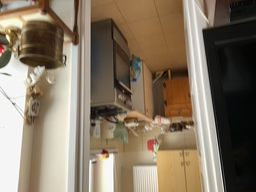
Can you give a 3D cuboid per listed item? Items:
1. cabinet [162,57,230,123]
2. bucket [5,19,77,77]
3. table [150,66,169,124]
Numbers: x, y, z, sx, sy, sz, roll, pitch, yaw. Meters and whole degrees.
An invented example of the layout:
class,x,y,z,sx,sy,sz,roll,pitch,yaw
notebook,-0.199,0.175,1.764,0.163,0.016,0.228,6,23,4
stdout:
class,x,y,z,sx,sy,sz,roll,pitch,yaw
cabinet,1.030,-0.060,3.310,0.870,0.880,0.370,-6,166,17
bucket,-0.460,-0.250,1.170,0.260,0.190,0.250,-5,166,14
table,0.520,0.000,3.480,0.210,0.880,0.330,-6,166,17
